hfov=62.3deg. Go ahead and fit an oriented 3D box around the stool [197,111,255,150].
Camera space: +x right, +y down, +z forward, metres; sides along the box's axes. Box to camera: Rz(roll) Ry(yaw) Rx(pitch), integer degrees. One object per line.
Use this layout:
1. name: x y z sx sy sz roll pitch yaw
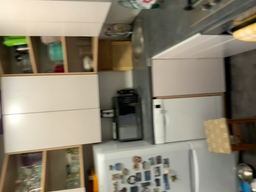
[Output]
1. stool: 0.960 0.320 2.000 0.310 0.460 0.300 149 117 -72
